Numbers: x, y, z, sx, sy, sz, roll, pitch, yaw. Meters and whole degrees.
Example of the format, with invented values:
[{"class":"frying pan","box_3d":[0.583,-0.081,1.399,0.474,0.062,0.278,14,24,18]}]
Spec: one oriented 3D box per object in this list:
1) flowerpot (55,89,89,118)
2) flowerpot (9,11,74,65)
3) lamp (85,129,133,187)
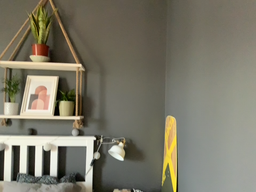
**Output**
[{"class":"flowerpot","box_3d":[-0.470,0.060,1.800,0.220,0.230,0.200,2,0,4]},{"class":"flowerpot","box_3d":[-0.700,-0.470,1.740,0.460,0.390,0.150,2,0,1]},{"class":"lamp","box_3d":[-0.160,0.530,1.830,0.390,0.460,0.120,2,0,-4]}]
